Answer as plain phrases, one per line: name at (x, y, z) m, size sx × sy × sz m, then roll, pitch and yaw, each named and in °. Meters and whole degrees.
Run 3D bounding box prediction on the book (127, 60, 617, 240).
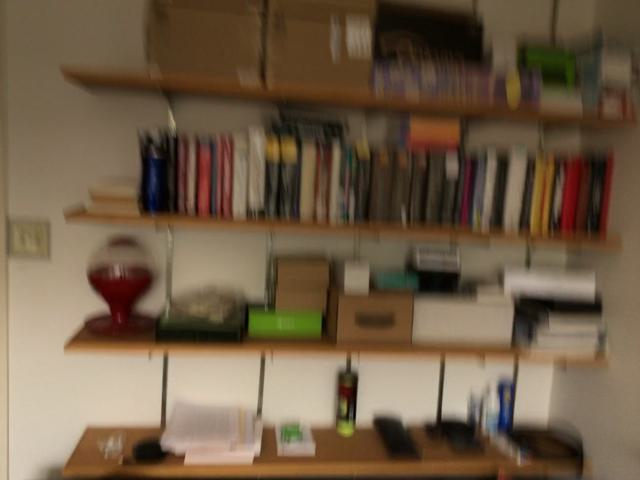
book at (0.170, -0.260, 1.840) m, size 1.450 × 0.440 × 0.270 m, roll 2°, pitch 4°, yaw -7°
